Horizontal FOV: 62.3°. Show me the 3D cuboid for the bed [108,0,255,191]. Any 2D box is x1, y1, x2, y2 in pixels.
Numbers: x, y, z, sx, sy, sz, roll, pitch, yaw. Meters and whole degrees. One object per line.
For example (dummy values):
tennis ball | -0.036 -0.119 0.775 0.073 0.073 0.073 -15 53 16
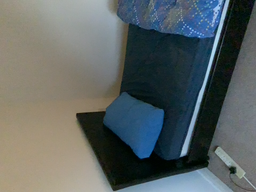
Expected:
bed | 0.390 -0.460 1.790 1.050 0.480 2.150 39 126 53
